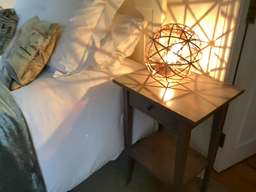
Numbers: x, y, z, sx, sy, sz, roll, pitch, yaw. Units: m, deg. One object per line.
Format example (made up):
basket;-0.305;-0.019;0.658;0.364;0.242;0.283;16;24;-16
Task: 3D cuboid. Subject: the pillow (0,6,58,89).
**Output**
pillow;-0.580;-0.280;1.160;0.120;0.360;0.360;20;8;-46

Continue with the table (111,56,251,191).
table;0.230;0.220;1.150;0.410;0.700;0.480;-22;35;-33

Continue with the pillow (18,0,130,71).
pillow;-0.330;-0.470;1.280;0.440;0.400;0.530;-22;36;-33
